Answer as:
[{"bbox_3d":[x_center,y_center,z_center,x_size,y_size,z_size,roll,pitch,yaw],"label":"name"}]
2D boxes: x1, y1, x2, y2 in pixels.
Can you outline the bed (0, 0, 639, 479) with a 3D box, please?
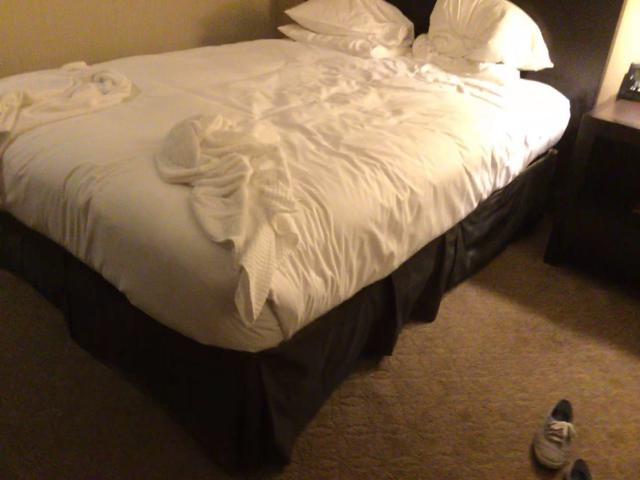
[{"bbox_3d":[-0.080,-0.640,2.160,1.800,1.460,2.170,26,36,31],"label":"bed"}]
